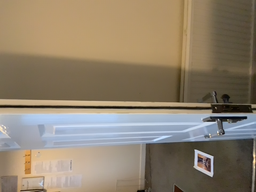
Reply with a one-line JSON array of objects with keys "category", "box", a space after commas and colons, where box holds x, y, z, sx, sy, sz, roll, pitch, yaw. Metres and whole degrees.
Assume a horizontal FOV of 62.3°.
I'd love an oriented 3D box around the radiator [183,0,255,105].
[{"category": "radiator", "box": [0.650, -0.730, 1.390, 0.060, 0.570, 1.570, -175, 86, -70]}]
